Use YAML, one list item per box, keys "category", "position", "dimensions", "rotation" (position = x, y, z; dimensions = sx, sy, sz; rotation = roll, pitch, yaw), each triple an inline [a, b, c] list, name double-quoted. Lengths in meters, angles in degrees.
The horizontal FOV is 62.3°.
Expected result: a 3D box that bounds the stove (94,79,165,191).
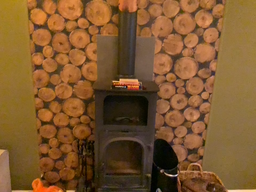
- category: "stove"
  position: [-0.020, 0.410, 1.610]
  dimensions: [0.430, 1.000, 0.370]
  rotation: [2, 15, -3]
